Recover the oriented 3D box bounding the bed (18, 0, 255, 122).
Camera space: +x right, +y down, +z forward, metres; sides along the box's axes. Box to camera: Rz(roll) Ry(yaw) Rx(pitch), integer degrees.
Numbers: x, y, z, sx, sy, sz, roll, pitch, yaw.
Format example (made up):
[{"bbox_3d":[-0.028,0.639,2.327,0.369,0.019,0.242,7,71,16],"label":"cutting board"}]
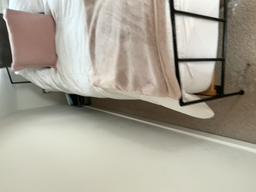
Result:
[{"bbox_3d":[-0.330,-0.880,1.730,2.330,0.600,1.660,9,104,52],"label":"bed"}]
